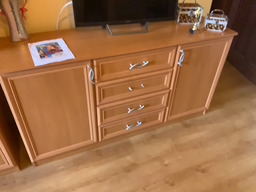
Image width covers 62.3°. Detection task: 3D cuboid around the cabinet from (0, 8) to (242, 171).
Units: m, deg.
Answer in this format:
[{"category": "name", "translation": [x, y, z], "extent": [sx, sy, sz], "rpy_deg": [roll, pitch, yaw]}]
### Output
[{"category": "cabinet", "translation": [-0.040, -0.140, 1.750], "extent": [1.650, 0.850, 0.570], "rpy_deg": [-13, 41, -20]}]
